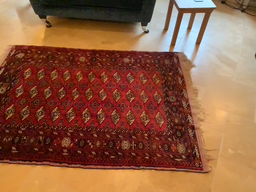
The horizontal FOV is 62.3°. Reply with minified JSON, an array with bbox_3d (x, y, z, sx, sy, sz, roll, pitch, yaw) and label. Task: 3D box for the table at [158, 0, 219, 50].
[{"bbox_3d":[0.580,-0.780,2.150,0.370,0.420,0.370,-11,52,-13],"label":"table"}]
